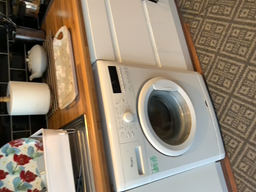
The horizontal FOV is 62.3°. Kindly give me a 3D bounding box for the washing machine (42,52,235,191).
[{"bbox_3d":[0.050,0.200,1.350,0.660,0.910,0.590,-29,68,48],"label":"washing machine"}]
